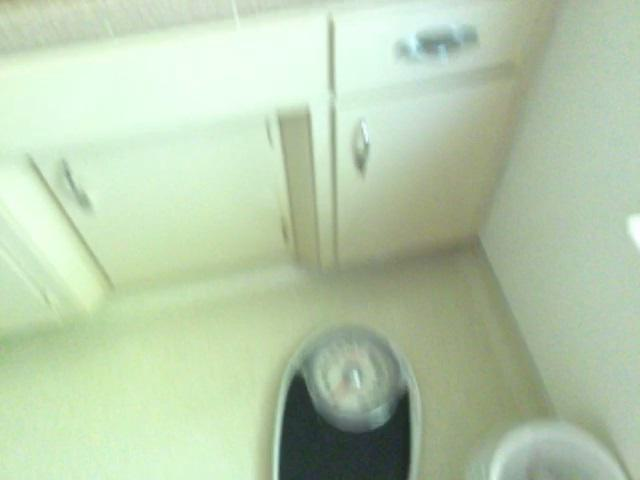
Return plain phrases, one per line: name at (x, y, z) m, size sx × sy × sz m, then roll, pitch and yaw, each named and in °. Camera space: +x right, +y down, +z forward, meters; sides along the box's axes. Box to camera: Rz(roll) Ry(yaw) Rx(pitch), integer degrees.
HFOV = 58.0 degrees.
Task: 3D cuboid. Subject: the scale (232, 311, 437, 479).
scale at (0.030, 0.370, 1.130) m, size 0.370 × 0.070 × 0.480 m, roll 0°, pitch 54°, yaw 3°
